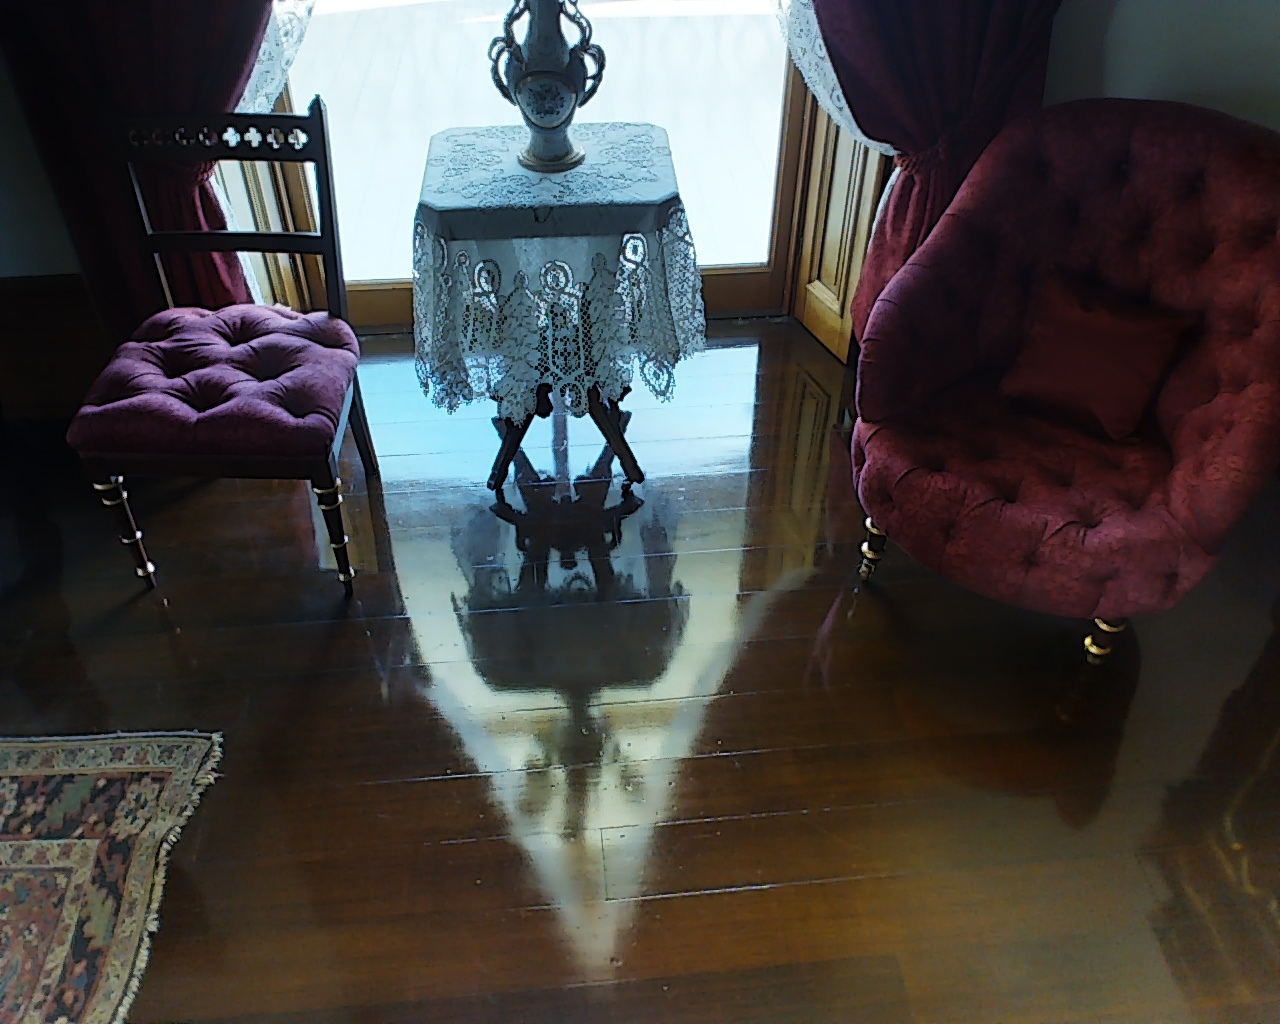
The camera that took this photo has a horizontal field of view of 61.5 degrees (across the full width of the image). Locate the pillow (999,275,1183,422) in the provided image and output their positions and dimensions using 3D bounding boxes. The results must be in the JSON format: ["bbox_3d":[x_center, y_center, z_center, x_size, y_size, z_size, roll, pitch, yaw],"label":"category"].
[{"bbox_3d":[0.850,-0.300,2.020,0.280,0.220,0.130,0,49,32],"label":"pillow"}]

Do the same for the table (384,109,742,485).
[{"bbox_3d":[-0.150,-0.440,2.280,0.640,0.690,0.330,-3,43,-4],"label":"table"}]
